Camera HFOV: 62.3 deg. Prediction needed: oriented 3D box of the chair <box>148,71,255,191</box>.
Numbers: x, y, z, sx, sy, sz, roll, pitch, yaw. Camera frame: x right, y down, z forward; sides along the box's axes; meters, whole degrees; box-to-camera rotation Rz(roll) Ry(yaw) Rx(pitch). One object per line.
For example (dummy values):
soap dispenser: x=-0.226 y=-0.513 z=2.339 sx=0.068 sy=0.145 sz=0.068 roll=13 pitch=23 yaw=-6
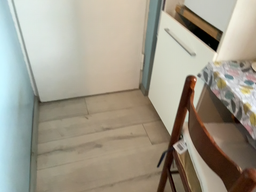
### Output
chair: x=0.410 y=0.360 z=0.890 sx=0.480 sy=0.810 sz=0.440 roll=-2 pitch=40 yaw=-8
